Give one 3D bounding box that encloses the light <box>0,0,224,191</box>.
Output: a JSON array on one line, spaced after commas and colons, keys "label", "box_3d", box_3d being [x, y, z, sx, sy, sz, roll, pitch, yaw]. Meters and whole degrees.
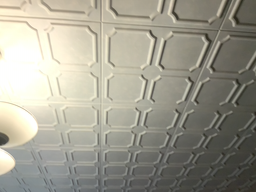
[{"label": "light", "box_3d": [-0.350, 0.060, 0.910, 1.700, 1.170, 0.620, -12, -104, -63]}]
